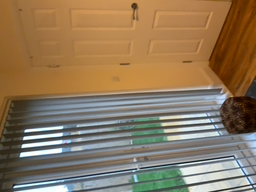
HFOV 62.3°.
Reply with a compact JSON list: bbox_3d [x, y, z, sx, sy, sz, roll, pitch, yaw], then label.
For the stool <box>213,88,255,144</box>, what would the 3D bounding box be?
[{"bbox_3d":[1.000,0.160,1.760,0.310,0.360,0.310,-106,17,-46],"label":"stool"}]
